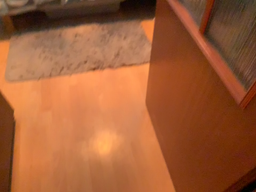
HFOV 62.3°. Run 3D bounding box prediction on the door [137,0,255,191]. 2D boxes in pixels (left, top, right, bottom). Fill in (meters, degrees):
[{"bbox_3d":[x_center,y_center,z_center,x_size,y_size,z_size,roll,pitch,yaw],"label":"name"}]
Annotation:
[{"bbox_3d":[0.220,-0.280,0.370,0.080,2.070,0.830,-11,53,-10],"label":"door"}]
